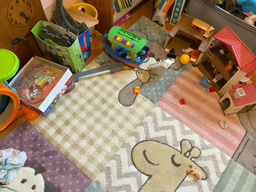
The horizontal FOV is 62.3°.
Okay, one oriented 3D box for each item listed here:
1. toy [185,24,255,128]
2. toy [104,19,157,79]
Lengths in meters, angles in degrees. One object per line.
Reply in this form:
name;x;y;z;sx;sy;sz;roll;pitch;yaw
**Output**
toy;0.660;-0.120;1.310;0.280;0.350;0.460;-25;67;-18
toy;0.010;-0.320;1.450;0.260;0.210;0.230;35;64;13
